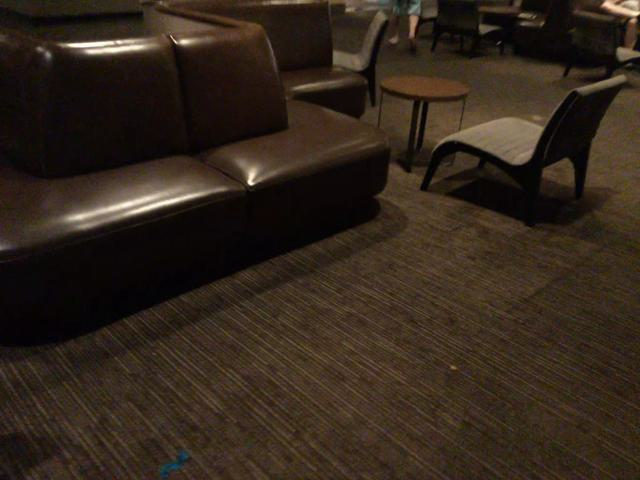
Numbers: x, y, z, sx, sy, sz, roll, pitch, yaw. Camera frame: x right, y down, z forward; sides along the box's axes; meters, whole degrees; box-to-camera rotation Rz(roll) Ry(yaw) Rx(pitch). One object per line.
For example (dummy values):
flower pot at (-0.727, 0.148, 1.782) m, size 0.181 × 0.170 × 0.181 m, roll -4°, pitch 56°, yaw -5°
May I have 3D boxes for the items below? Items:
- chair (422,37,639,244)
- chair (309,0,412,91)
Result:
chair at (1.110, -0.580, 3.140) m, size 0.710 × 0.800 × 0.710 m, roll -24°, pitch 40°, yaw -36°
chair at (0.340, -1.800, 5.070) m, size 0.810 × 0.780 × 0.800 m, roll -1°, pitch 26°, yaw 2°
